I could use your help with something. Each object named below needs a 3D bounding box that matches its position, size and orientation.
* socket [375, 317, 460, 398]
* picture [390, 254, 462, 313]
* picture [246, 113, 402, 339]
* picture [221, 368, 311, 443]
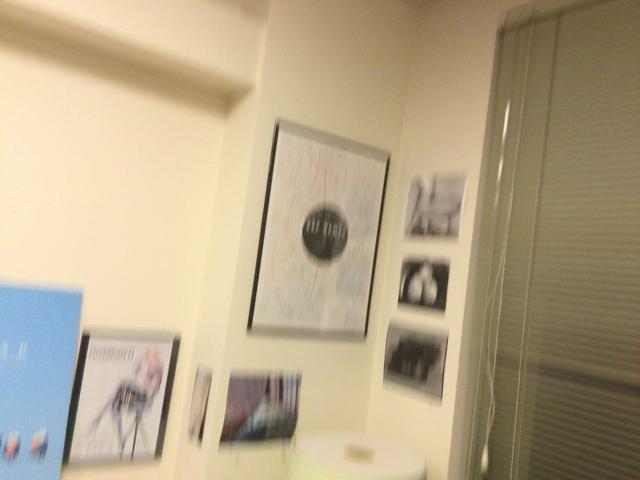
[{"bbox_3d":[0.290,0.350,1.750,0.050,0.190,0.250,12,-4,-41],"label":"socket"},{"bbox_3d":[0.320,0.130,1.770,0.050,0.150,0.210,12,-4,-41],"label":"picture"},{"bbox_3d":[0.030,-0.020,1.780,0.450,0.620,0.050,12,-4,-37],"label":"picture"},{"bbox_3d":[-0.150,0.470,1.660,0.250,0.190,0.050,12,-4,-41],"label":"picture"}]
